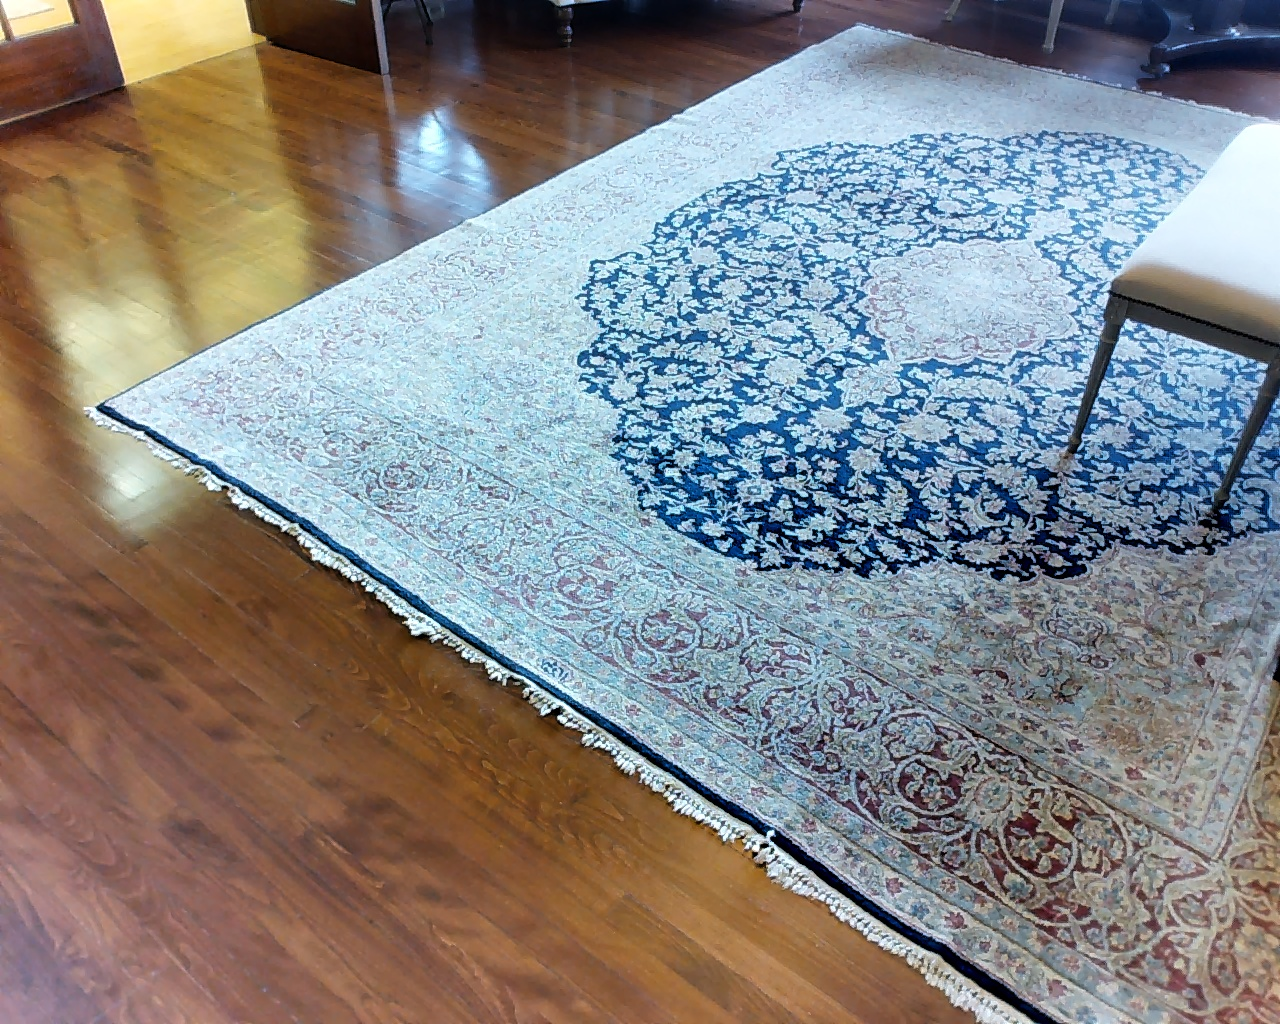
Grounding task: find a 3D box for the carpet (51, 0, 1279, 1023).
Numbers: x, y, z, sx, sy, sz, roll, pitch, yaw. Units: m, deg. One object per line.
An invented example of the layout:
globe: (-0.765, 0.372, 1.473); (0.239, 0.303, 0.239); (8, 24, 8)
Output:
carpet: (1.000, -0.740, 3.210); (3.050, 0.080, 4.090); (28, 48, 27)
